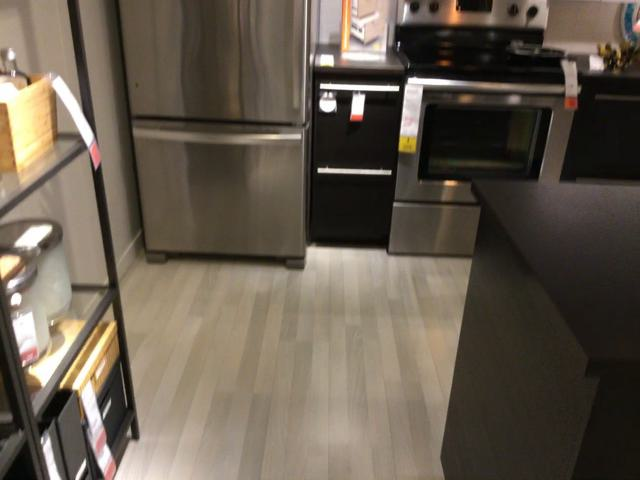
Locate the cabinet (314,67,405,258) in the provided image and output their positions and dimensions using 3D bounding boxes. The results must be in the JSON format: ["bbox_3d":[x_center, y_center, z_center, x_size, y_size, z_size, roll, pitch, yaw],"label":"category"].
[{"bbox_3d":[0.210,-0.420,2.940,0.390,0.810,0.640,3,24,7],"label":"cabinet"}]

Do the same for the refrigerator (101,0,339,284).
[{"bbox_3d":[-0.370,-0.770,2.640,0.820,1.700,0.820,3,24,7],"label":"refrigerator"}]
